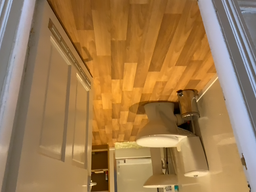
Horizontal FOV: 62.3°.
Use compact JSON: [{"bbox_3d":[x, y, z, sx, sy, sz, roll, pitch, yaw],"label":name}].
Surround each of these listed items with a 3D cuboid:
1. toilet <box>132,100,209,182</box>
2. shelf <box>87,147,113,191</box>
[{"bbox_3d":[0.400,0.490,2.300,0.640,0.750,0.420,-2,154,-4],"label":"toilet"},{"bbox_3d":[-0.500,1.500,3.840,0.430,1.060,0.310,-2,154,-5],"label":"shelf"}]
